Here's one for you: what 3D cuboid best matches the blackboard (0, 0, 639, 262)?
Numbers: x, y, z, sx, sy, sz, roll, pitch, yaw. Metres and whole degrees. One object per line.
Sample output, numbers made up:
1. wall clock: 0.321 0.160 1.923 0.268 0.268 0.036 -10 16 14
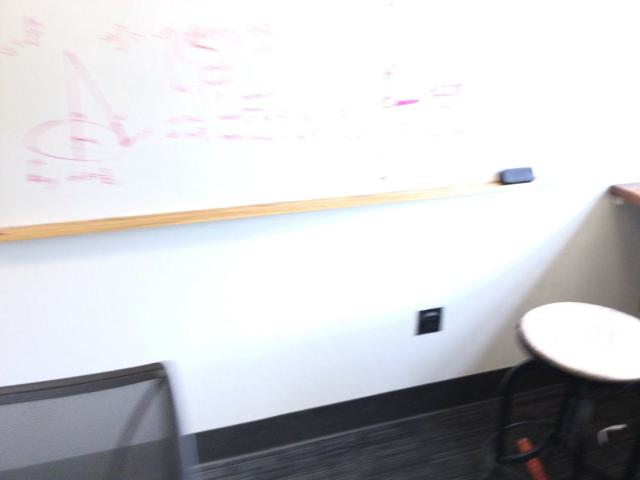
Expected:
1. blackboard: 0.170 -0.680 1.610 2.310 1.420 0.200 -2 19 -19
